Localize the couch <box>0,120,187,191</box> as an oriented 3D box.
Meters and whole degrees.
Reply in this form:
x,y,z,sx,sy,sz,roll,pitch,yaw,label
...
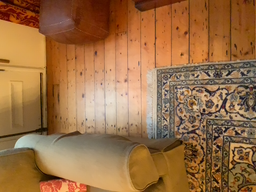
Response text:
x,y,z,sx,sy,sz,roll,pitch,yaw,label
-0.310,0.840,1.290,1.090,0.890,1.250,-3,90,33,couch
